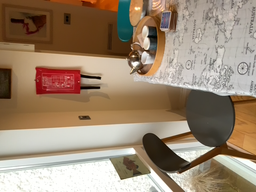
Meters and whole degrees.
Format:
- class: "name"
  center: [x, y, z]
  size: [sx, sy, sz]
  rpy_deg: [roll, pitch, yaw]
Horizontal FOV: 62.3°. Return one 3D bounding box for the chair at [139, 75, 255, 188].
- class: "chair"
  center: [0.550, 0.180, 1.470]
  size: [0.450, 0.780, 0.570]
  rpy_deg: [-151, 64, -64]
